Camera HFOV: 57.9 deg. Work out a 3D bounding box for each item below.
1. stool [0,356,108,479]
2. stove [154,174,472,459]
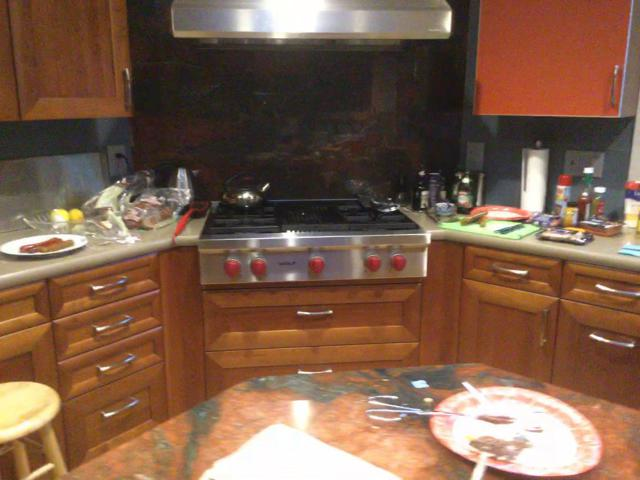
[{"bbox_3d":[-0.890,0.730,1.670,0.470,0.590,0.330,13,19,37],"label":"stool"},{"bbox_3d":[-0.050,0.270,2.540,1.130,1.010,0.740,0,16,-5],"label":"stove"}]
